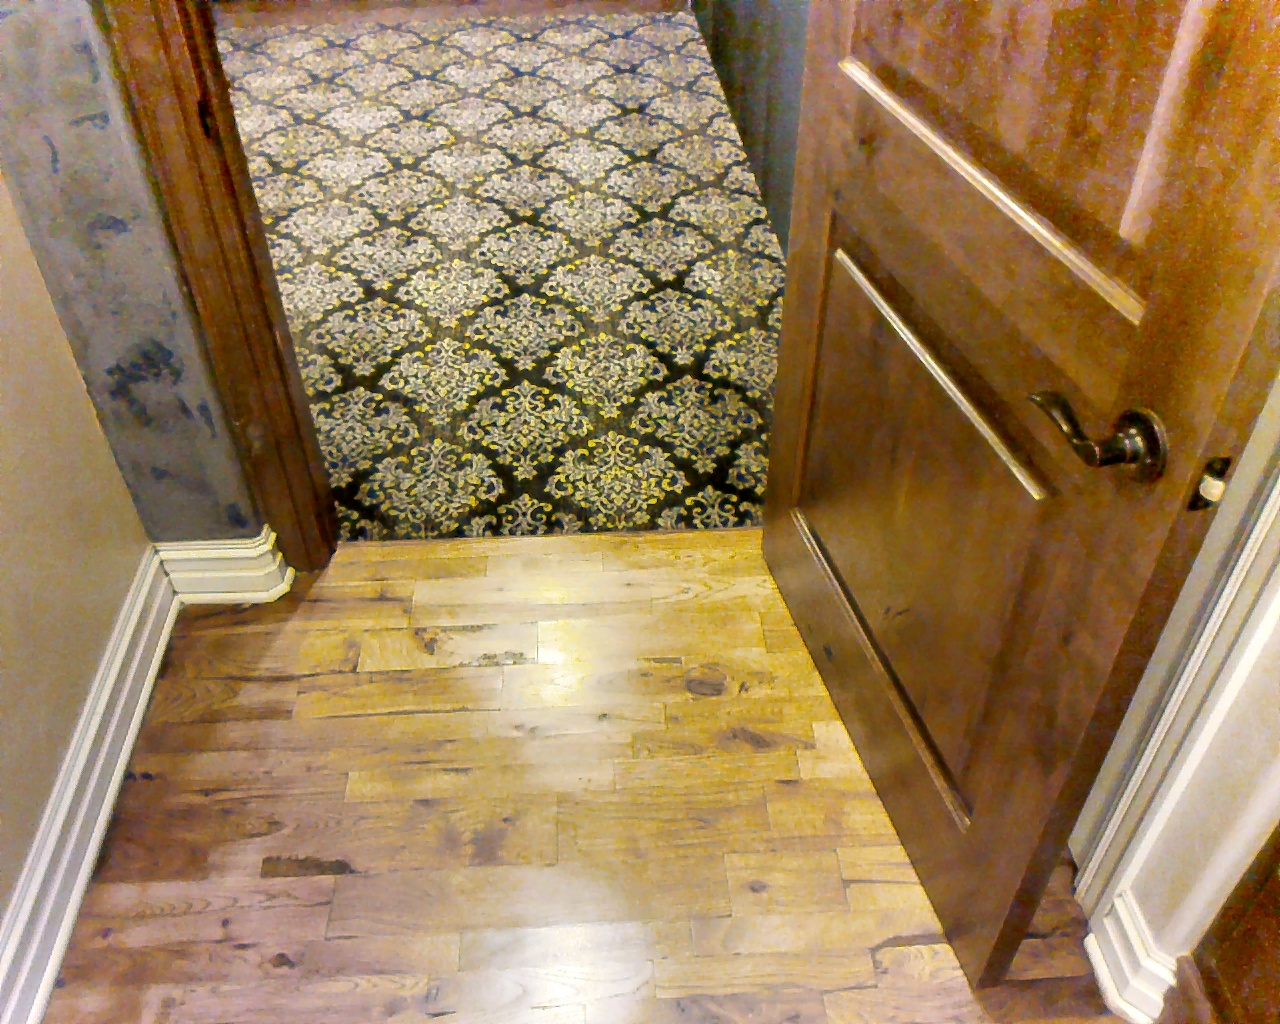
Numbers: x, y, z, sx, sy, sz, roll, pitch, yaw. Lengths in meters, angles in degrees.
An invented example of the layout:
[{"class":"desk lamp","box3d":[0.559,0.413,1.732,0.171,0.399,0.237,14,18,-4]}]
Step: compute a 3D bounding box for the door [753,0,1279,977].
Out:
[{"class":"door","box3d":[0.360,-0.570,1.010,0.050,2.430,0.900,-11,42,-11]}]
